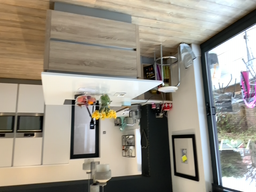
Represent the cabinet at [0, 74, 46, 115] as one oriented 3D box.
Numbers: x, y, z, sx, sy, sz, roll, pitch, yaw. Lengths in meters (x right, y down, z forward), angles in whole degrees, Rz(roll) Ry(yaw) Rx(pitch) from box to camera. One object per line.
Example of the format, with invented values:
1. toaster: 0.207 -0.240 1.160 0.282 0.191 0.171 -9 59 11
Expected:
1. cabinet: -2.830 0.000 5.470 1.280 0.920 0.620 2 169 -20
